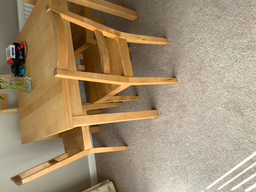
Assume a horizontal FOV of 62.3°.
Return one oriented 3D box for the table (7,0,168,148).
[{"bbox_3d":[-0.410,-0.180,1.740,0.990,0.770,0.960,-25,73,46],"label":"table"}]
